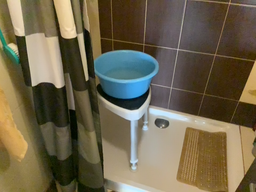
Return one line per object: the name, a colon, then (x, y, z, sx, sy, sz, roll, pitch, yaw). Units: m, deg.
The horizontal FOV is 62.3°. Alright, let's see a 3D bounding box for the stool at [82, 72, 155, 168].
stool: (-0.050, 0.160, 1.460, 0.340, 0.480, 0.330, 16, 40, 19)
